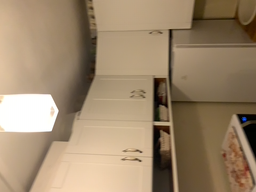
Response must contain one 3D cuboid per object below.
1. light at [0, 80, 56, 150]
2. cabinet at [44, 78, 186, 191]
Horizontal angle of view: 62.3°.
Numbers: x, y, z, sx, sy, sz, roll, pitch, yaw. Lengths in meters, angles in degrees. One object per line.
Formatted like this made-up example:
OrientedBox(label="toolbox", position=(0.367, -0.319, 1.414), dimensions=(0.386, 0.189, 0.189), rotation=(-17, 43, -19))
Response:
OrientedBox(label="light", position=(-0.480, 0.060, 0.790), dimensions=(0.350, 0.180, 0.160), rotation=(9, 139, -5))
OrientedBox(label="cabinet", position=(-0.020, 0.320, 1.640), dimensions=(0.750, 1.130, 0.350), rotation=(1, 128, 6))
